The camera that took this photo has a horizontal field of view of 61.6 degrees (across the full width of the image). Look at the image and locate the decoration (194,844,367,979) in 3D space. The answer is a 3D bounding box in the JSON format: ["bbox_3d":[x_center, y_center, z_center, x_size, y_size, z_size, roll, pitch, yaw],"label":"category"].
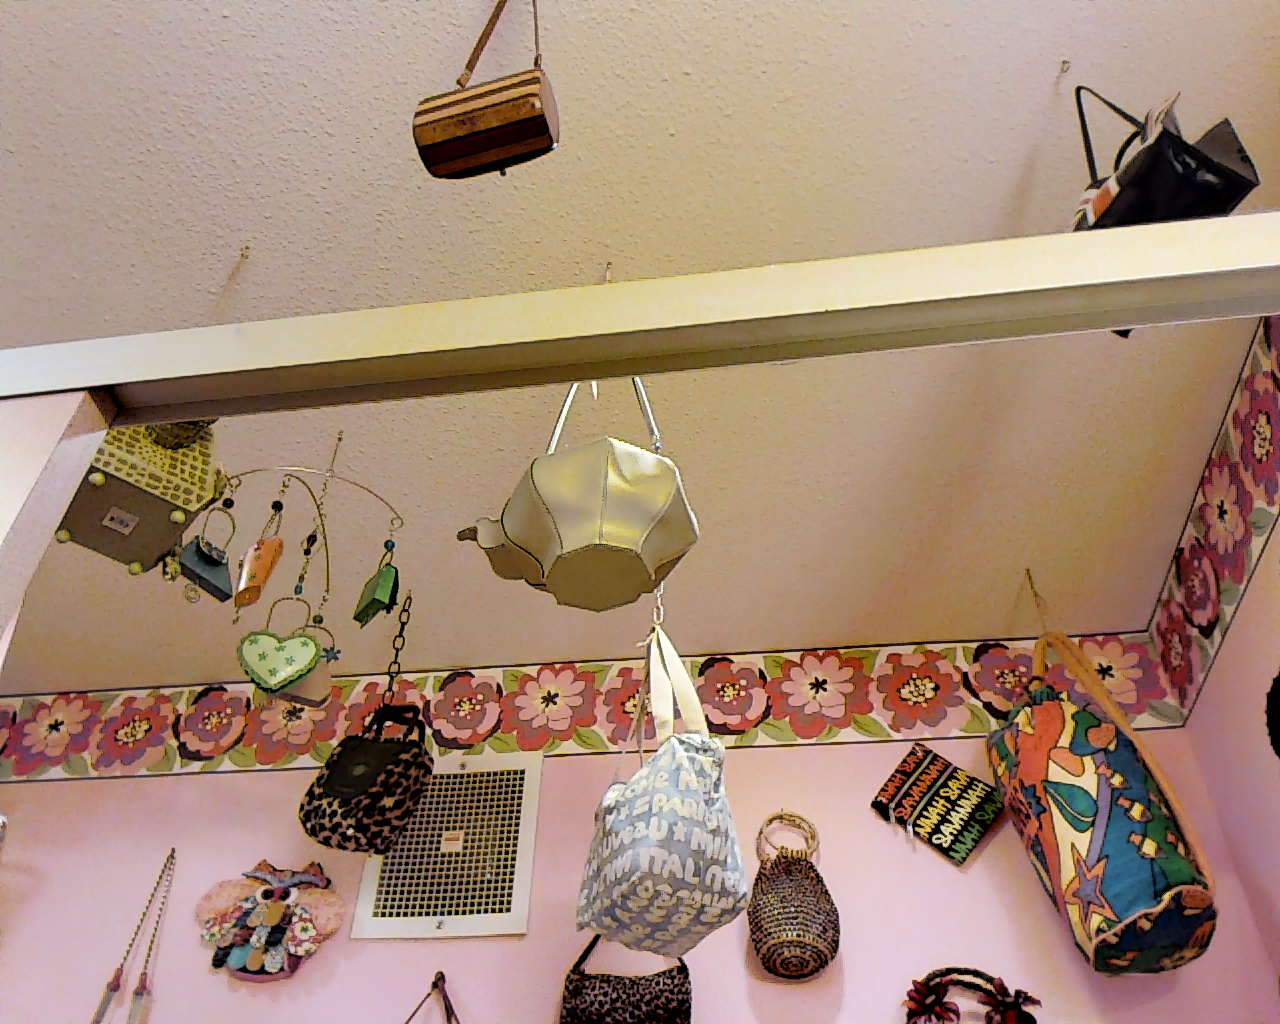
[{"bbox_3d":[-0.680,0.760,2.050,0.260,0.230,0.060,-4,-44,6],"label":"decoration"}]

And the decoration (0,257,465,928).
[{"bbox_3d":[-0.560,0.230,1.680,0.230,0.340,1.220,-4,-44,6],"label":"decoration"}]
